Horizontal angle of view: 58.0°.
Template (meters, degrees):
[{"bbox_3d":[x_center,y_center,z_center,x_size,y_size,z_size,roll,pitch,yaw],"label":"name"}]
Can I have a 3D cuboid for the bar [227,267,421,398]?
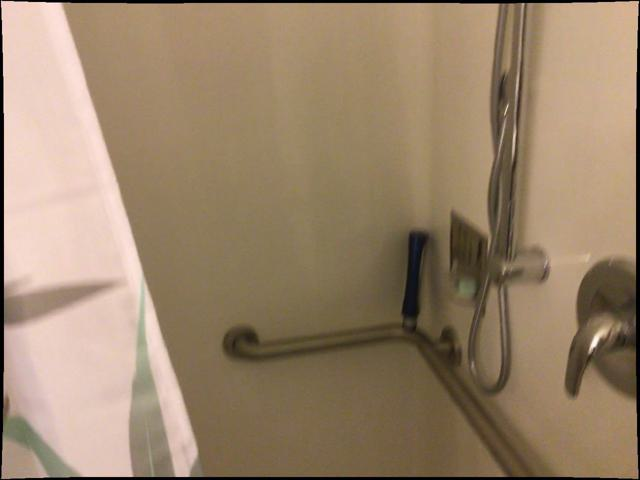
[{"bbox_3d":[0.010,0.200,1.300,0.399,0.160,0.130,-12,23,-10],"label":"bar"}]

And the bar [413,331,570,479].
[{"bbox_3d":[0.299,0.321,1.010,0.060,0.050,0.550,-12,23,-10],"label":"bar"}]

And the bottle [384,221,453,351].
[{"bbox_3d":[0.219,0.100,1.290,0.090,0.240,0.140,-12,23,-10],"label":"bottle"}]
